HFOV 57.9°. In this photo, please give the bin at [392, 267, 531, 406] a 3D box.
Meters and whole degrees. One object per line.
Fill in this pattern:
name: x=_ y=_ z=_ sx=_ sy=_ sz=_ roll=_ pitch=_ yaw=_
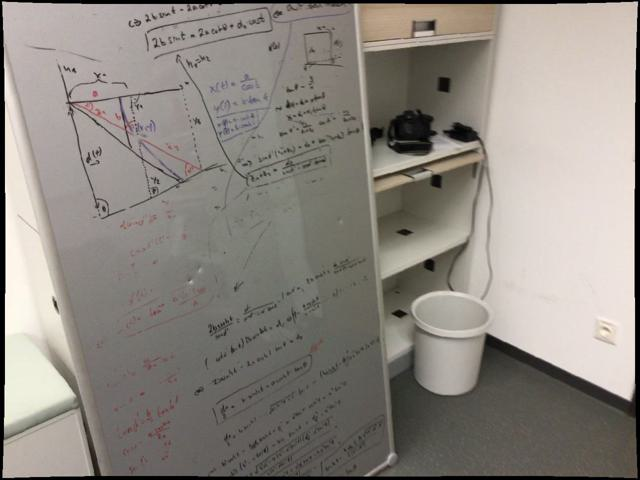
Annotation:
bin: x=0.549 y=0.360 z=2.280 sx=0.420 sy=0.310 sz=0.320 roll=-18 pitch=29 yaw=-32
